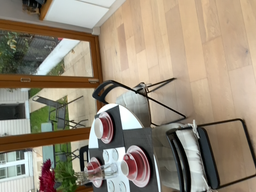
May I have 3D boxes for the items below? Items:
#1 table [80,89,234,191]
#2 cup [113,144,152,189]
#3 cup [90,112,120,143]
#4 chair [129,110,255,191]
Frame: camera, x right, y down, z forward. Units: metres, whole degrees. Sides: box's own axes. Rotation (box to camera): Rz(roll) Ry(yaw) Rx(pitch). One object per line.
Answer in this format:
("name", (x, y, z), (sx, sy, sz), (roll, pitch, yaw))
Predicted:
("table", (0.180, 0.580, 1.920), (1.070, 0.750, 1.050), (-22, 74, 53))
("cup", (0.020, 0.460, 1.410), (0.270, 0.090, 0.250), (-21, 74, 53))
("cup", (-0.200, 0.270, 1.800), (0.280, 0.110, 0.230), (-20, 74, 54))
("chair", (0.470, 0.420, 1.560), (0.530, 0.680, 0.490), (-27, 69, 52))
